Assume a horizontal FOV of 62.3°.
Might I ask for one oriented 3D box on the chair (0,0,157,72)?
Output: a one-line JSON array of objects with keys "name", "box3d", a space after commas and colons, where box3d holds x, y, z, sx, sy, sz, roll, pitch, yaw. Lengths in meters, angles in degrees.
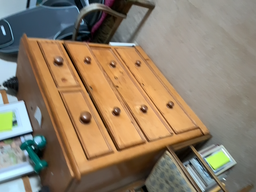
[{"name": "chair", "box3d": [-0.510, -0.710, 1.770, 0.910, 1.050, 0.550, -46, 59, 42]}]
